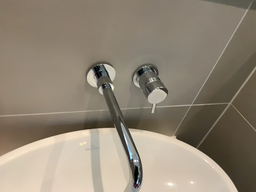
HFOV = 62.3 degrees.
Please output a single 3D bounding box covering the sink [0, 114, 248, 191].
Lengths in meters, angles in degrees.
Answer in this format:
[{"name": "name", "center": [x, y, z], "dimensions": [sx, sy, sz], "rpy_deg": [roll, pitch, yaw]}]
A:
[{"name": "sink", "center": [-0.030, 0.230, 0.410], "dimensions": [0.580, 0.110, 0.370], "rpy_deg": [-3, 43, -25]}]
